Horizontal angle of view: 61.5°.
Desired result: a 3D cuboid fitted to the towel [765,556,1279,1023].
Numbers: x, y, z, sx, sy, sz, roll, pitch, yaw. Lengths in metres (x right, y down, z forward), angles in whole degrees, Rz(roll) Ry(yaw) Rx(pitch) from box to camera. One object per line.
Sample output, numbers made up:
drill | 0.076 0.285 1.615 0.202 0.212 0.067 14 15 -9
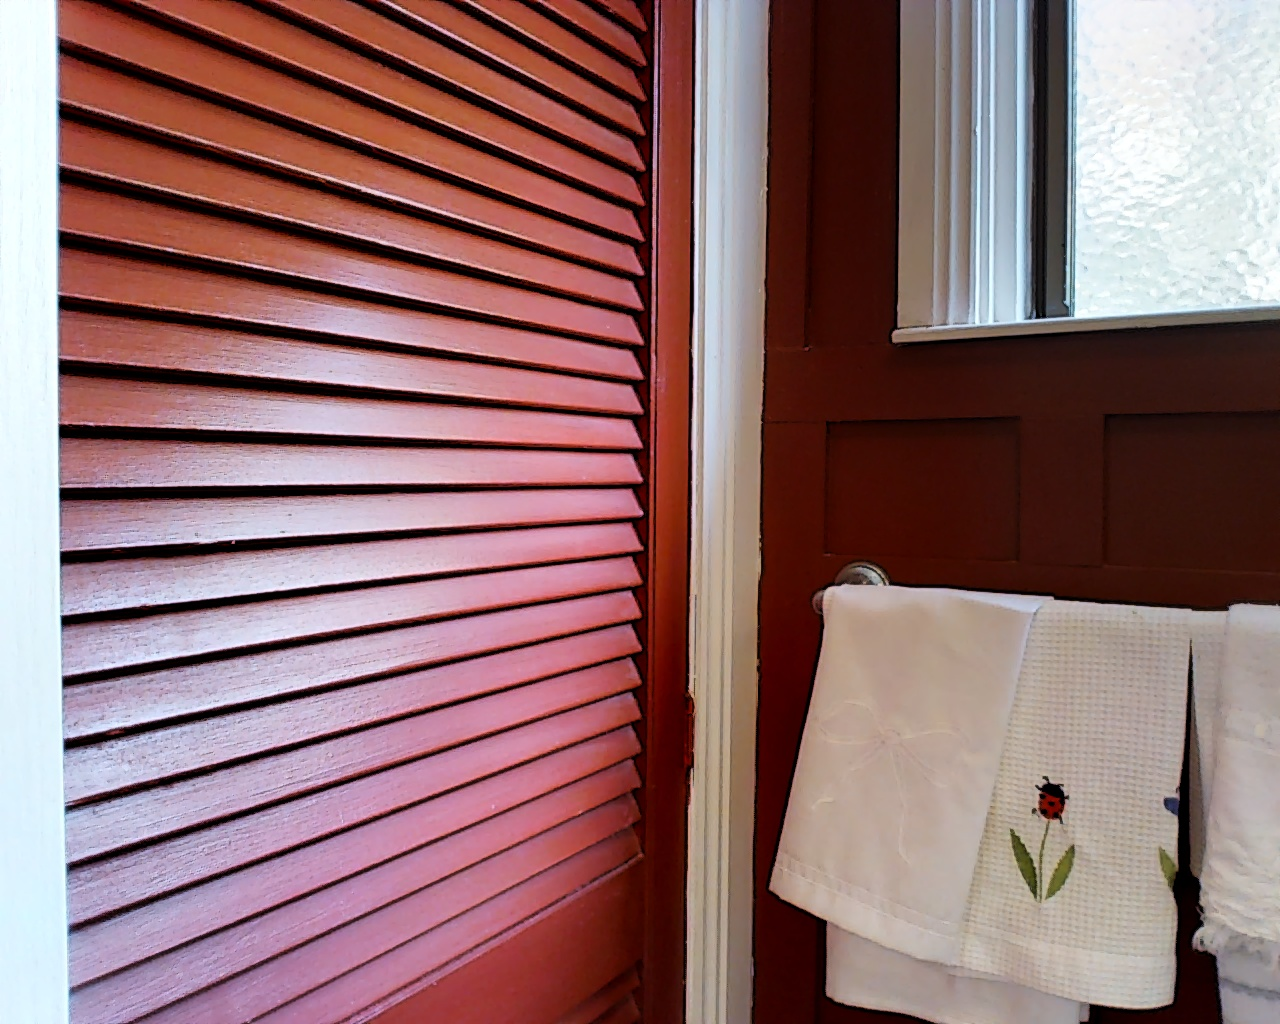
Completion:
towel | 0.410 0.260 0.780 0.620 0.430 0.170 0 1 32
